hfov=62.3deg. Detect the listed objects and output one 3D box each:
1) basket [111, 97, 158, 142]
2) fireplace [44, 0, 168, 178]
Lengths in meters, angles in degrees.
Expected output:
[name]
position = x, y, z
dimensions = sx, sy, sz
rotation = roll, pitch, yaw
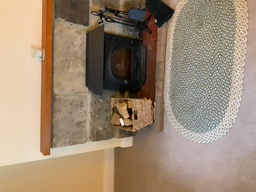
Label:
[basket]
position = 0.060, 0.200, 1.990
dimensions = 0.270, 0.340, 0.360
rotation = 5, 94, 53
[fireplace]
position = -0.170, -0.280, 1.810
dimensions = 0.490, 0.900, 1.600
rotation = 4, 93, 53
